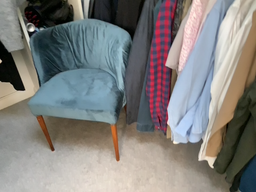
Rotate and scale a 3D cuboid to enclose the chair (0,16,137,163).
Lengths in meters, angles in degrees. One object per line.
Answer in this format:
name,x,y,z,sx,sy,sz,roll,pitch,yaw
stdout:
chair,-0.250,-0.050,1.280,0.550,0.660,0.530,4,40,8
